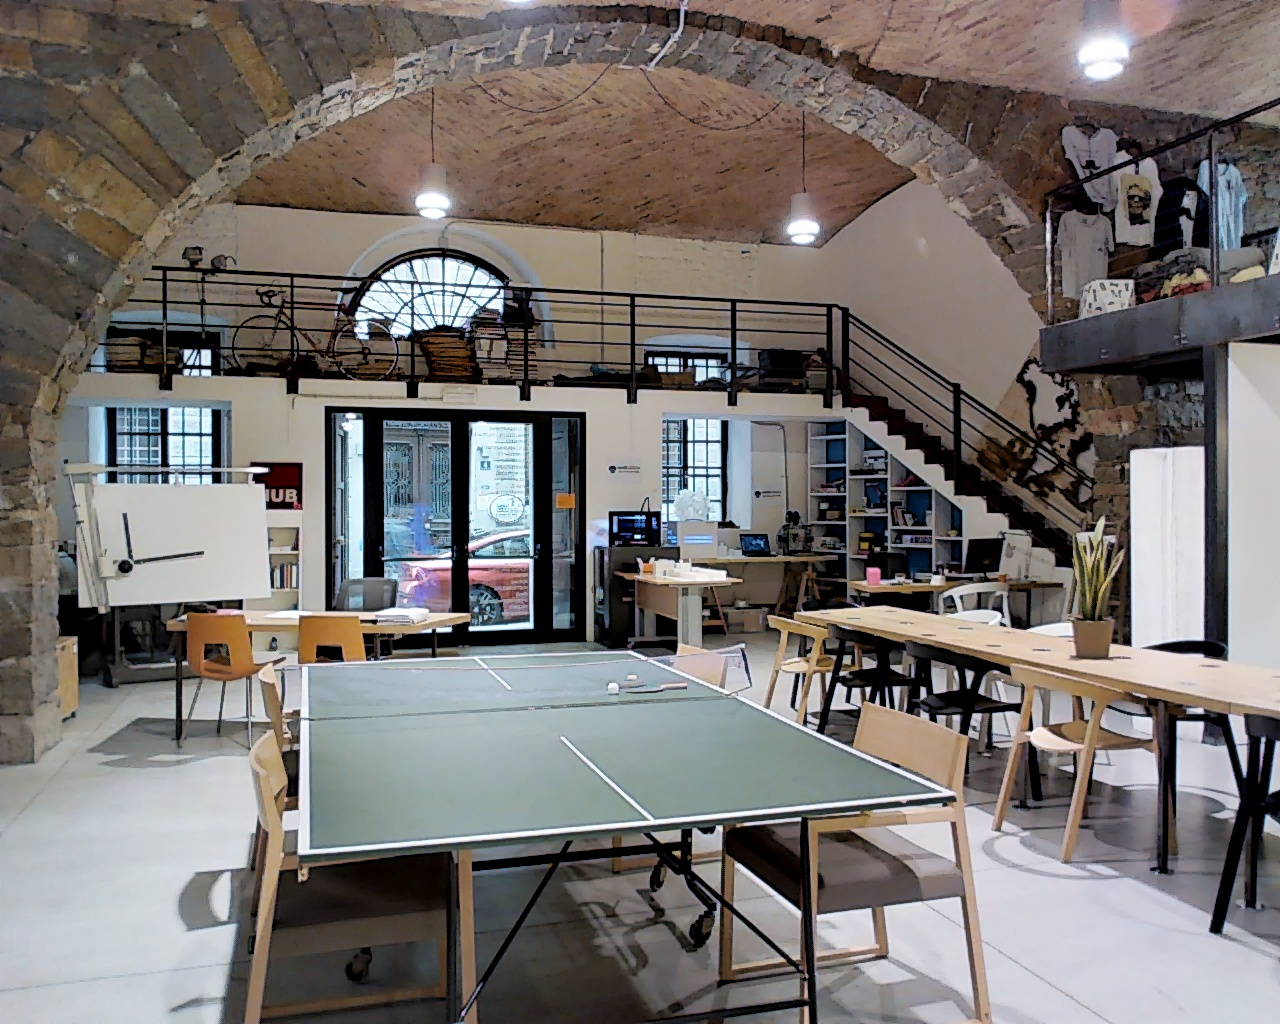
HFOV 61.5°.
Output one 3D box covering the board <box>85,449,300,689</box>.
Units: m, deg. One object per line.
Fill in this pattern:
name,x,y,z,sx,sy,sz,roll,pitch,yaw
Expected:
board,-3.749,0.490,9.110,1.620,1.901,0.360,2,-8,-33
